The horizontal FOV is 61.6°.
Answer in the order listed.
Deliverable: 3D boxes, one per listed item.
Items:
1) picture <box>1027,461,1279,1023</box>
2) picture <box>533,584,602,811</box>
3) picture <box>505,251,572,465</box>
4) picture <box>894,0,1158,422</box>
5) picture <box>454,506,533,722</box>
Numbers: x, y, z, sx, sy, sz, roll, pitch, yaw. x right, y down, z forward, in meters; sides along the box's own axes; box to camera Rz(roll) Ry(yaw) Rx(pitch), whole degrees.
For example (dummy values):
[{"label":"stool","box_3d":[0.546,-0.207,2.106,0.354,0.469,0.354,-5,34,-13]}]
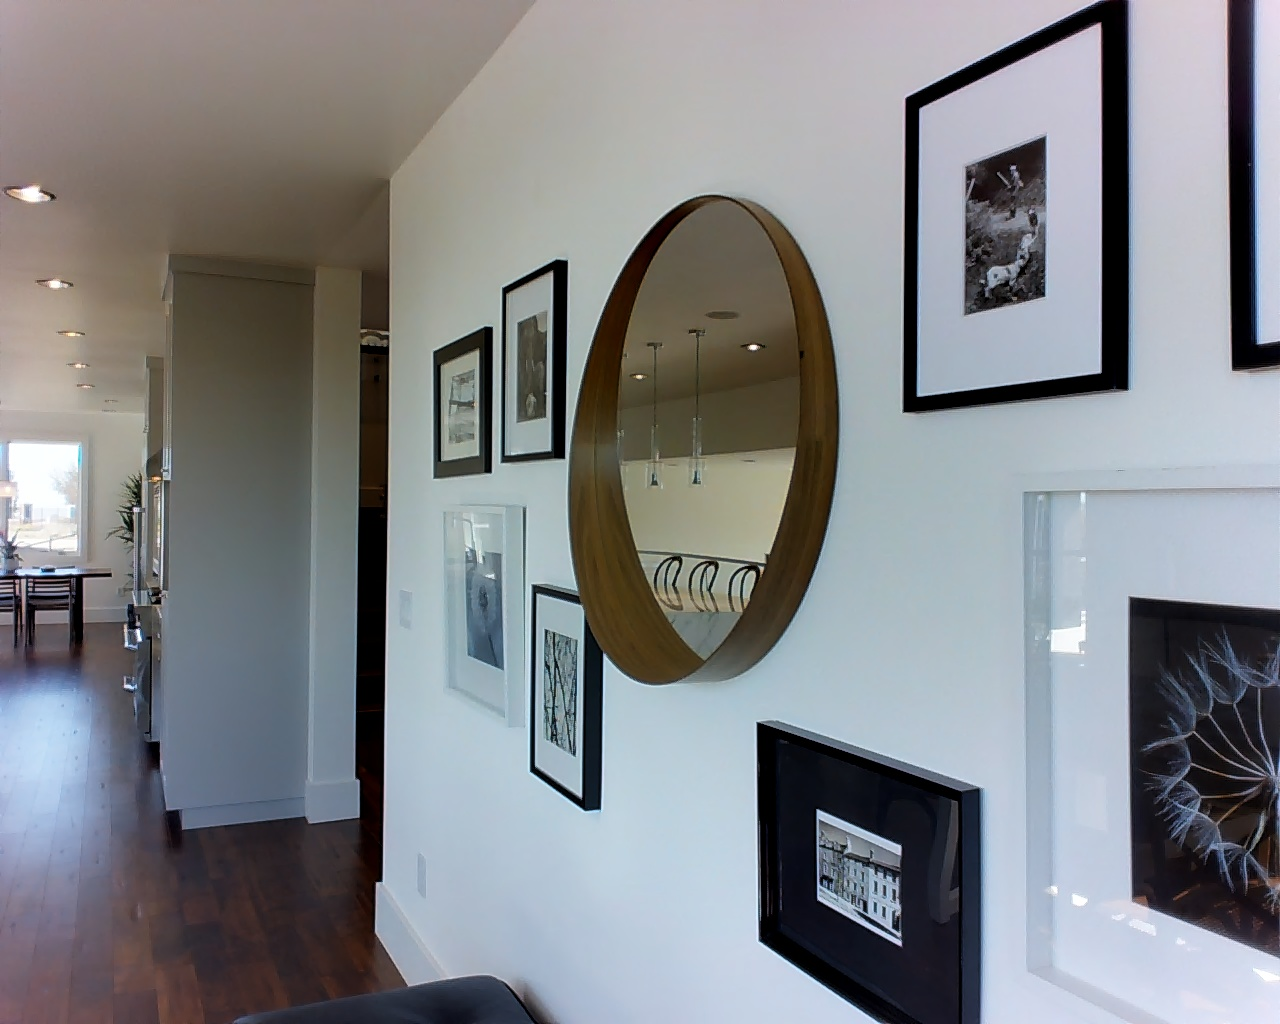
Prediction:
[{"label":"picture","box_3d":[0.520,0.210,0.870,0.050,0.500,0.490,1,0,-25]},{"label":"picture","box_3d":[-0.160,0.380,2.300,0.020,0.430,0.340,1,0,-25]},{"label":"picture","box_3d":[-0.240,-0.340,2.490,0.030,0.450,0.360,0,0,-25]},{"label":"picture","box_3d":[0.400,-0.310,1.160,0.040,0.400,0.330,1,0,-26]},{"label":"picture","box_3d":[-0.390,0.240,2.790,0.040,0.510,0.530,1,0,-25]}]
